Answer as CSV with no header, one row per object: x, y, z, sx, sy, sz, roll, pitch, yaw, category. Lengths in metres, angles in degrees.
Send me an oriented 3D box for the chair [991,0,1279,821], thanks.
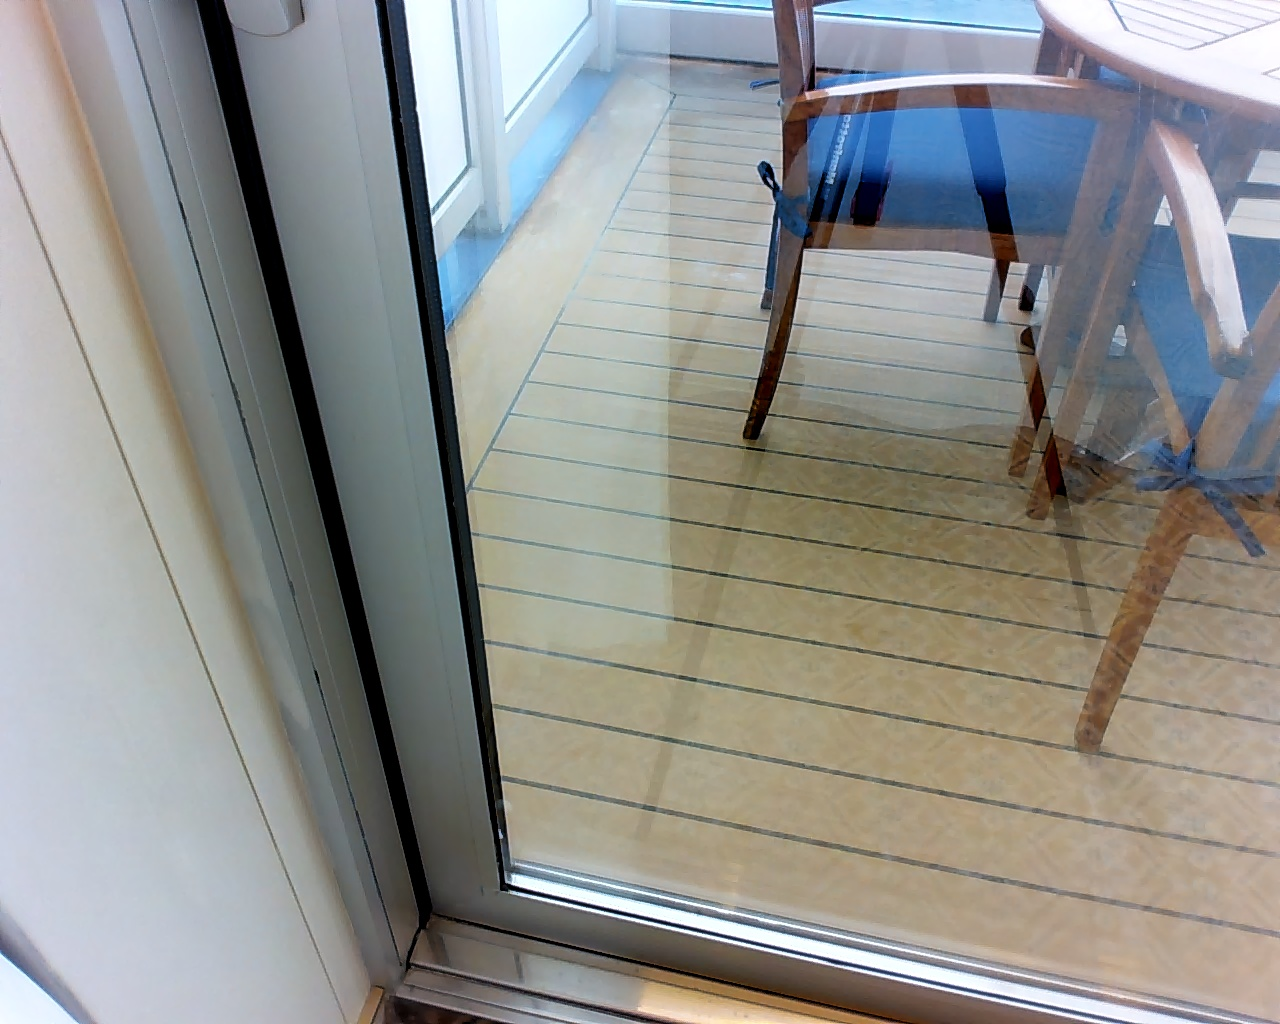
0.860,-0.170,1.310,0.630,0.930,0.660,9,43,9,chair

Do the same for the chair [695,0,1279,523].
0.570,-0.610,1.830,0.790,0.890,0.720,9,43,10,chair
